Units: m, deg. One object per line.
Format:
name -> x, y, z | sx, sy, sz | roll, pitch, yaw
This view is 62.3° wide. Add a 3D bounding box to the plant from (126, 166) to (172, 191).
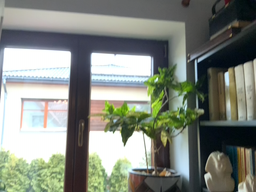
plant -> 0.100, 0.500, 1.120 | 0.220, 0.200, 0.250 | 0, -7, 1
